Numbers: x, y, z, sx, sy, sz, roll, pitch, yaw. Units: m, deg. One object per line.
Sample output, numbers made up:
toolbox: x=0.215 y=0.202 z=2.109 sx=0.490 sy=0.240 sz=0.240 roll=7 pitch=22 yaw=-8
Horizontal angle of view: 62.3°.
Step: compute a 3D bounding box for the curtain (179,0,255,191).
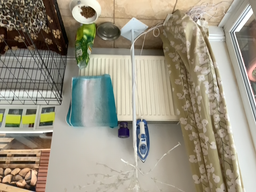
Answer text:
curtain: x=0.600 y=0.350 z=1.150 sx=0.210 sy=2.270 sz=0.450 roll=3 pitch=154 yaw=-9
